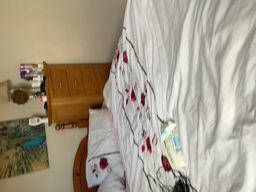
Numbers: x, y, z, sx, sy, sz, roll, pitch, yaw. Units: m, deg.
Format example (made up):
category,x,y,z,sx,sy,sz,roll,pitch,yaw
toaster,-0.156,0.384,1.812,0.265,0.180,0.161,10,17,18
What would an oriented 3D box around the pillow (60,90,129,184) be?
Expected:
category,x,y,z,sx,sy,sz,roll,pitch,yaw
pillow,-0.300,0.390,1.980,0.210,0.530,0.750,-28,67,5
